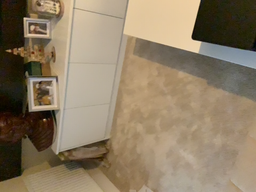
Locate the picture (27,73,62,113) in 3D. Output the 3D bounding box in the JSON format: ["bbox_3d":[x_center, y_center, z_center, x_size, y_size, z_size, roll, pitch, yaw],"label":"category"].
[{"bbox_3d":[-0.690,-0.030,1.760,0.090,0.200,0.280,13,115,48],"label":"picture"}]
